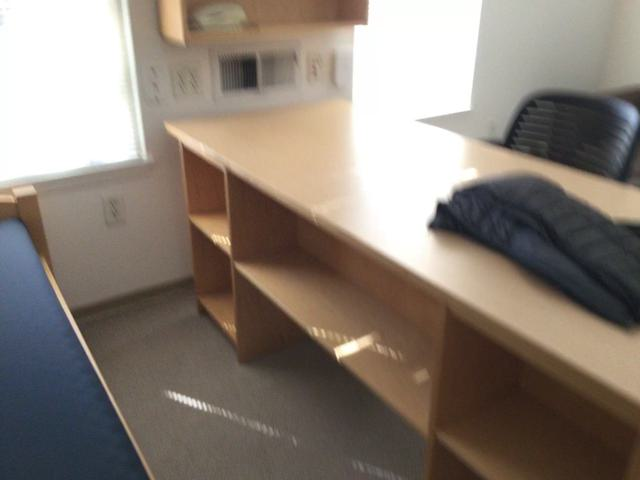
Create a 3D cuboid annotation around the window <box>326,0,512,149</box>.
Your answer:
[{"bbox_3d":[0.450,-1.380,2.450,0.860,1.840,0.250,-15,27,-28],"label":"window"}]
